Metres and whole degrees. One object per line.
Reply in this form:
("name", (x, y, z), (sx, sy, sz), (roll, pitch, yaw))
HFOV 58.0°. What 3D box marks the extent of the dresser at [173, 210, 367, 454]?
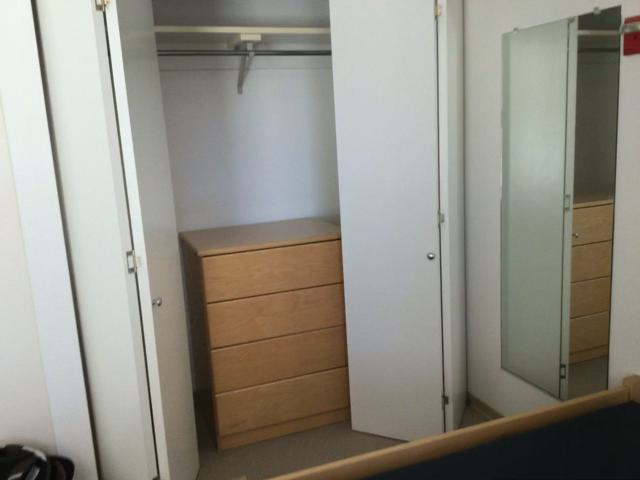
("dresser", (-0.270, 0.400, 2.980), (0.800, 0.980, 0.660), (-6, 11, -19))
